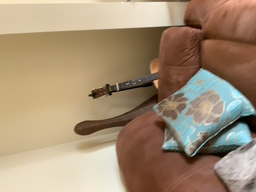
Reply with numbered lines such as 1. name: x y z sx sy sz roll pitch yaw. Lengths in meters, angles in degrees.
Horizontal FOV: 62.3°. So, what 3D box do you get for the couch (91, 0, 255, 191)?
1. couch: 0.760 0.310 0.460 2.600 1.000 1.200 -141 45 -61
